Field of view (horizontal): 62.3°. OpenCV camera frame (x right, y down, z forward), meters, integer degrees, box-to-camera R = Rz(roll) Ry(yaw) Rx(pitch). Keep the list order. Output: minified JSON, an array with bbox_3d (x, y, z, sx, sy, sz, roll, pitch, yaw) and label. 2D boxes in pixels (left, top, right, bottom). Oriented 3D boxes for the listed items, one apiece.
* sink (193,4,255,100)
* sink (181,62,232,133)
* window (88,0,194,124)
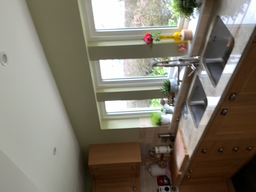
[{"bbox_3d":[0.780,-0.350,1.760,0.600,0.220,0.480,91,176,-49],"label":"sink"},{"bbox_3d":[0.770,0.020,2.200,0.560,0.220,0.480,91,176,-49],"label":"sink"},{"bbox_3d":[0.090,-0.530,2.280,2.440,0.860,0.360,91,176,-51],"label":"window"}]
